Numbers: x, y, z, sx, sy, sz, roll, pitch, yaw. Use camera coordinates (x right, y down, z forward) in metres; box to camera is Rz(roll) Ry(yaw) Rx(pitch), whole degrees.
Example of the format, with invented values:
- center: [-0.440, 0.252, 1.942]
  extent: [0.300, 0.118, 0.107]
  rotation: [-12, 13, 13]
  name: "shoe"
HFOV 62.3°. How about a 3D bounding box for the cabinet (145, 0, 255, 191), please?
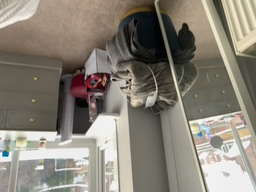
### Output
- center: [0.550, 0.300, 1.230]
  extent: [0.390, 2.070, 0.780]
  rotation: [4, 158, -22]
  name: "cabinet"
